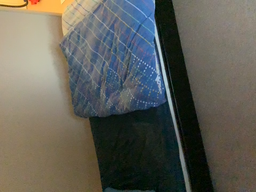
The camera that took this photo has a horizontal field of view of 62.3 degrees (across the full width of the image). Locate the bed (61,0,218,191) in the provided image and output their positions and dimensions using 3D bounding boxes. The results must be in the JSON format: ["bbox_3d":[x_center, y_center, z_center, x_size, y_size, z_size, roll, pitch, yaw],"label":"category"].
[{"bbox_3d":[0.020,0.100,1.810,1.030,0.430,2.060,-15,86,51],"label":"bed"}]
